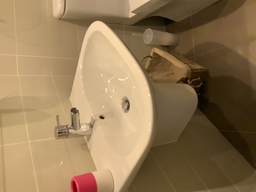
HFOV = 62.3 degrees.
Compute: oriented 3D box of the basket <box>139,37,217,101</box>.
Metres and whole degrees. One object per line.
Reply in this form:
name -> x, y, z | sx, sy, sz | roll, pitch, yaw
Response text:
basket -> 0.300, -0.180, 1.360 | 0.380, 0.240, 0.220 | 53, 134, 41
